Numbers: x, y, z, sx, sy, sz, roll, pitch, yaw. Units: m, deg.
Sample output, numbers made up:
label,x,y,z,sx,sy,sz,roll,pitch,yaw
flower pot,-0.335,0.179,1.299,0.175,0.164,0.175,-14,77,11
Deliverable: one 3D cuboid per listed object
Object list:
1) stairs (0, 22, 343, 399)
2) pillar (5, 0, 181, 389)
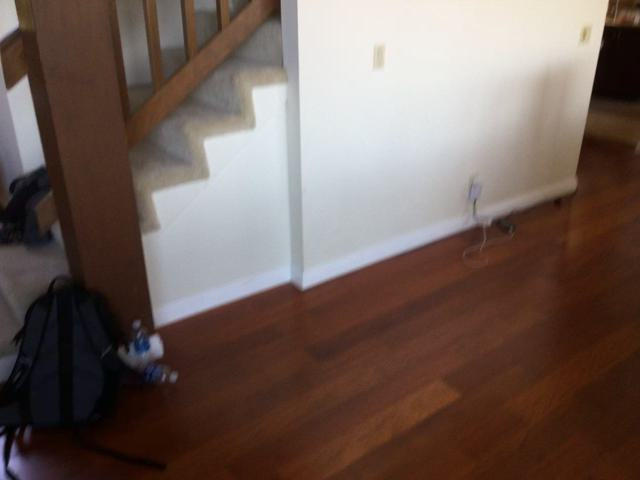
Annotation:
label,x,y,z,sx,sy,sz,roll,pitch,yaw
stairs,-0.890,-0.280,2.630,1.750,1.210,0.890,-18,26,-30
pillar,-0.810,-0.460,1.970,0.280,2.060,0.270,-17,26,-29
